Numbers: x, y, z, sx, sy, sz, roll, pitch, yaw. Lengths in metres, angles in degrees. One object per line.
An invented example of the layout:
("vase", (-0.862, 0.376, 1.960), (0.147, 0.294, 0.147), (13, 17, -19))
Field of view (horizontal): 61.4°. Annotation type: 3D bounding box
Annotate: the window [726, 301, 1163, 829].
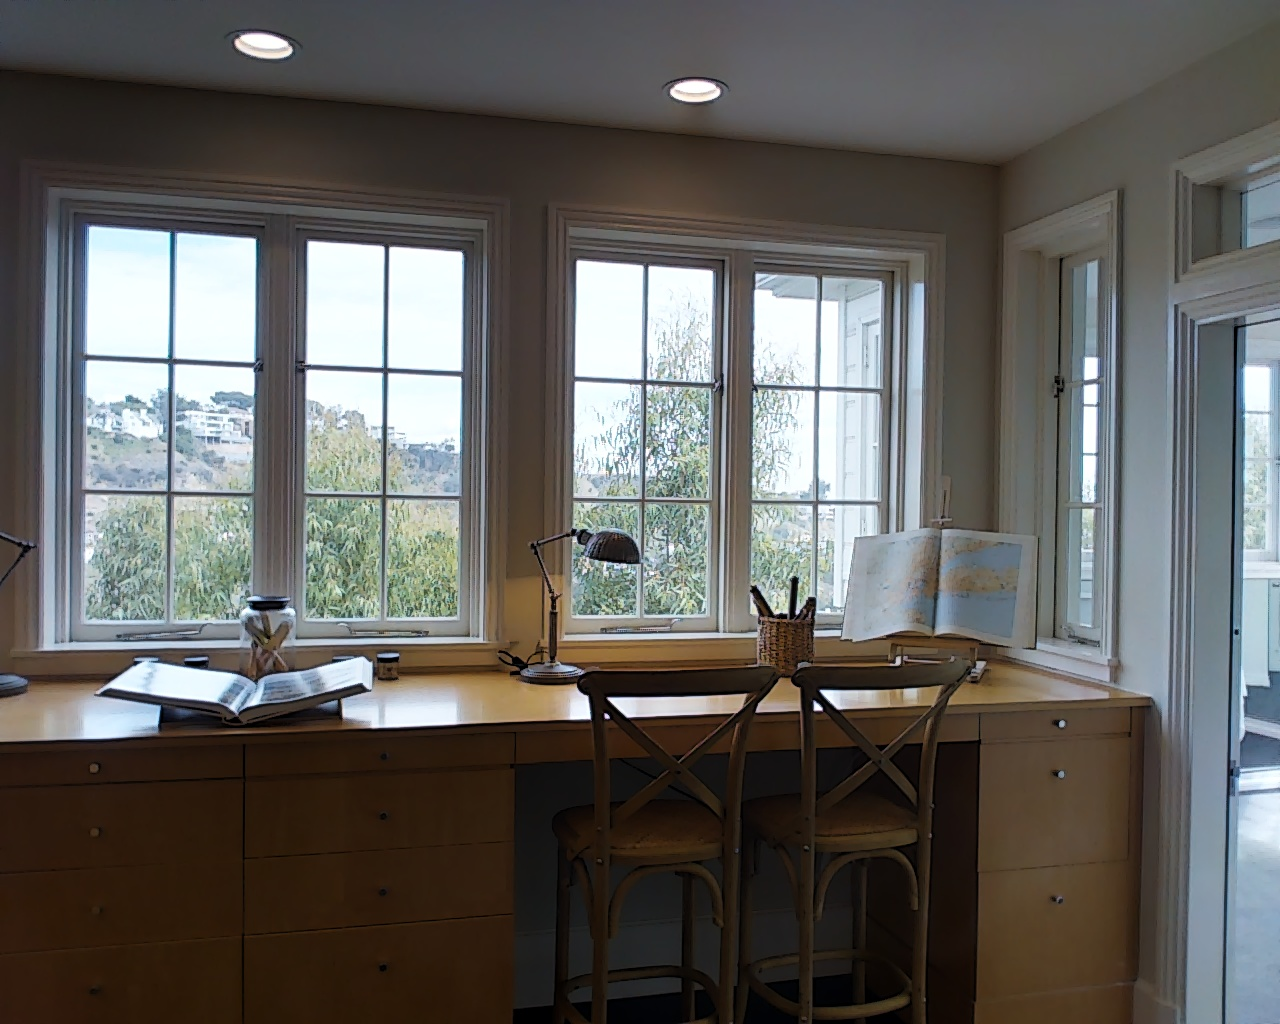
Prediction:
("window", (0.830, 0.130, 3.110), (1.200, 1.330, 0.190), (1, 1, 31))
